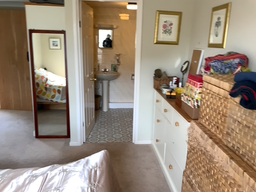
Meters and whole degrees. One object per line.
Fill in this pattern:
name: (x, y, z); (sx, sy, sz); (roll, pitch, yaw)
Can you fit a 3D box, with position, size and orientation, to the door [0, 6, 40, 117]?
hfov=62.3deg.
door: (-2.290, -0.640, 4.260); (0.790, 2.150, 0.210); (1, 14, -2)
